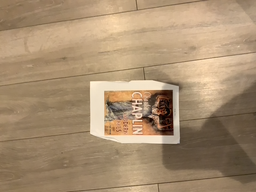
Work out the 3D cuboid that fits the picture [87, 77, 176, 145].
[{"bbox_3d":[0.010,0.050,0.700,0.280,0.040,0.210,-2,90,2],"label":"picture"}]
